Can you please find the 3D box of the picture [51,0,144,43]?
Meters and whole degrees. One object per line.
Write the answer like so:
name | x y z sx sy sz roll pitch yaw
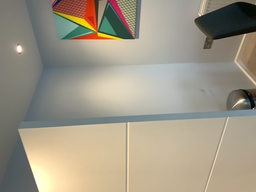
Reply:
picture | -0.280 -1.050 1.900 0.040 0.870 1.230 -98 8 -48
